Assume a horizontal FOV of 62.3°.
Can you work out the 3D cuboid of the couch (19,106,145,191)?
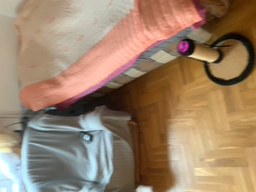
[{"bbox_3d":[-0.500,0.590,2.180,0.980,0.890,0.890,-9,80,49],"label":"couch"}]
